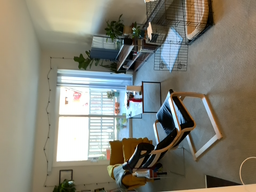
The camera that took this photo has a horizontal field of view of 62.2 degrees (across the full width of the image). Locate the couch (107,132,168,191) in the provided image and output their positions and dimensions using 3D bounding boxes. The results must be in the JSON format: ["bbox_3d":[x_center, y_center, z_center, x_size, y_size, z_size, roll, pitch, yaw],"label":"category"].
[{"bbox_3d":[0.090,1.200,4.250,1.580,0.780,0.900,150,122,-74],"label":"couch"}]
